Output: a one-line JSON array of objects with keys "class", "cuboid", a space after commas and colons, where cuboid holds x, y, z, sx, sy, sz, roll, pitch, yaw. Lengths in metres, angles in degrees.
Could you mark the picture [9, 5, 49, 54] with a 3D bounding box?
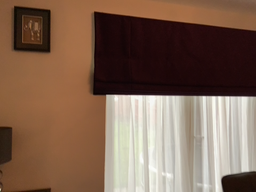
[{"class": "picture", "cuboid": [-0.690, -0.460, 1.490, 0.250, 0.310, 0.030, 1, 1, -14]}]
